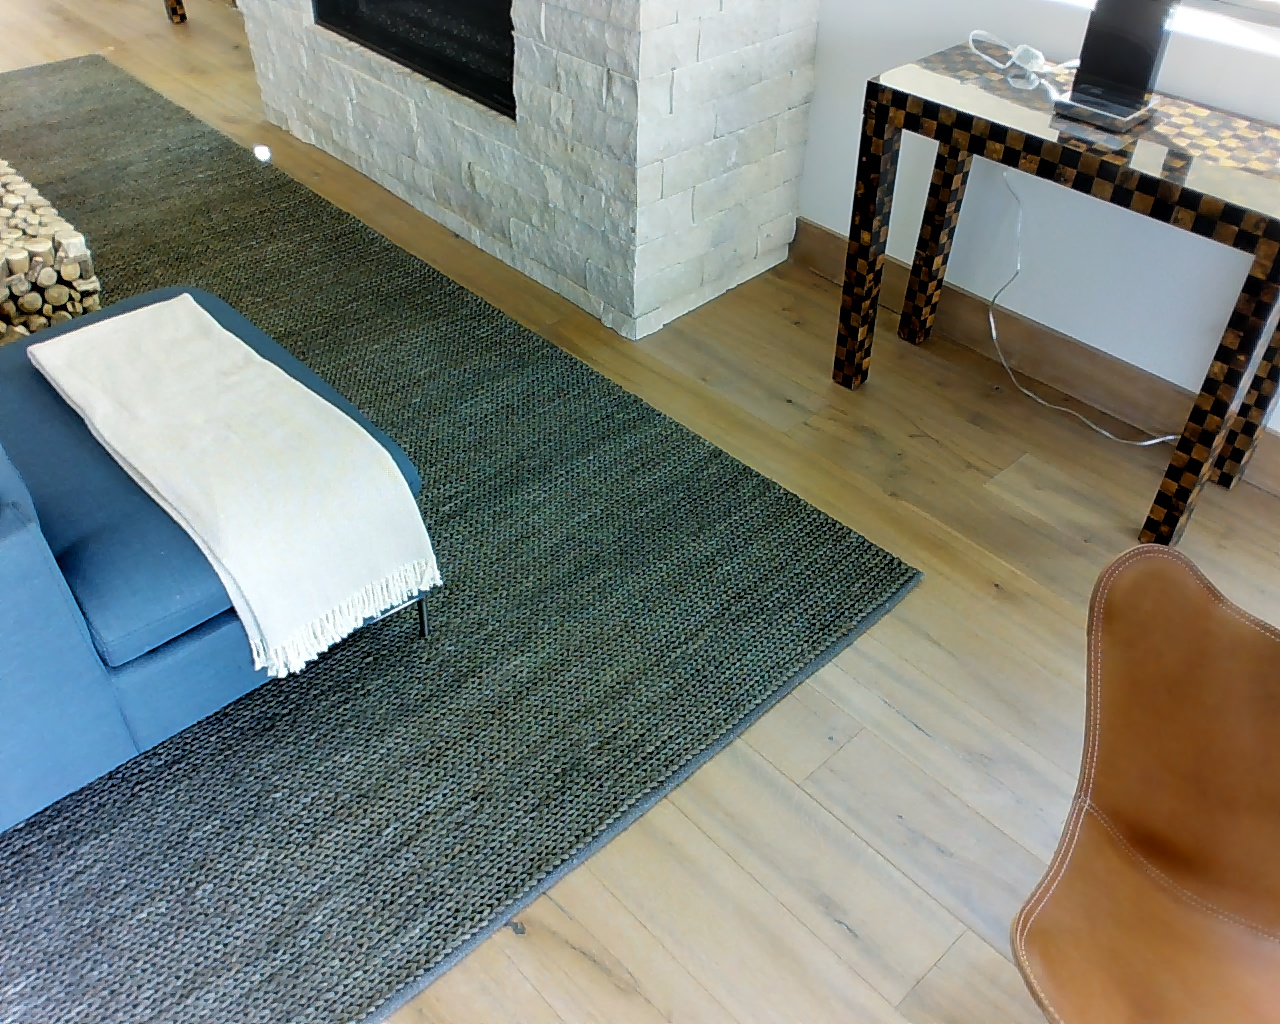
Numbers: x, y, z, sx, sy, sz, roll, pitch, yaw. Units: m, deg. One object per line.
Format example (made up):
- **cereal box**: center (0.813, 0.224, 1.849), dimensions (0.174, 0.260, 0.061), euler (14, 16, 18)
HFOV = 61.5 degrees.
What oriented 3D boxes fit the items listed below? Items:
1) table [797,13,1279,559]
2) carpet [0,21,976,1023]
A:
- **table**: center (0.930, -0.540, 2.400), dimensions (0.440, 0.760, 1.040), euler (-32, 51, -31)
- **carpet**: center (-2.000, -0.270, 2.610), dimensions (3.160, 0.060, 4.480), euler (-32, 51, -31)
